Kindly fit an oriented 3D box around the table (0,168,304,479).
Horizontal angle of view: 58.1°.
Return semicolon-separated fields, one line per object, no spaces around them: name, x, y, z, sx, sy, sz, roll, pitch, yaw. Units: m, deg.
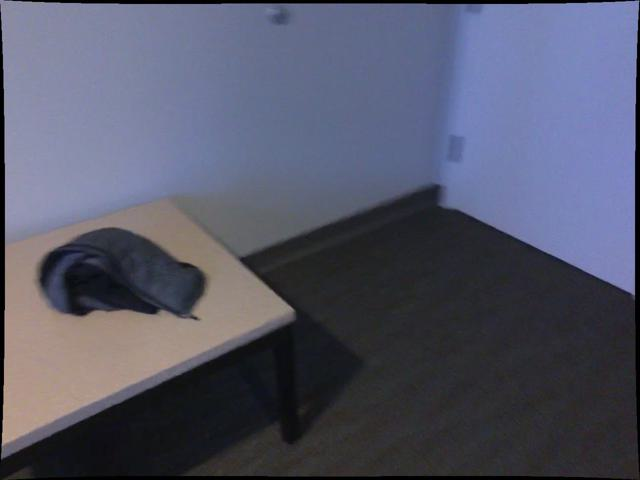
table;-0.609;0.300;1.540;0.809;0.551;0.800;-22;38;-31

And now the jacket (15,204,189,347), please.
jacket;-0.519;0.070;1.390;0.310;0.150;0.240;-22;38;-31
